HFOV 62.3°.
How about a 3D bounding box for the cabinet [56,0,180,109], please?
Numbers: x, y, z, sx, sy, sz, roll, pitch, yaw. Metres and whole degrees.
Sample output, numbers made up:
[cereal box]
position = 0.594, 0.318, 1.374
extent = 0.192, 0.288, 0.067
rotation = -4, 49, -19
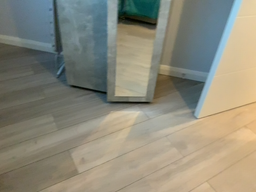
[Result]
[cabinet]
position = -0.010, -0.870, 1.420
extent = 0.780, 1.870, 0.560
rotation = 13, 39, 9
